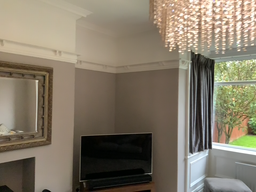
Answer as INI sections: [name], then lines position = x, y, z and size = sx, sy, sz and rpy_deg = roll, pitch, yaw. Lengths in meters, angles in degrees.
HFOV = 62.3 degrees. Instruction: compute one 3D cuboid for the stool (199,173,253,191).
[stool]
position = 1.490, 1.520, 3.320
size = 0.620, 0.400, 0.570
rpy_deg = 1, 0, 7
